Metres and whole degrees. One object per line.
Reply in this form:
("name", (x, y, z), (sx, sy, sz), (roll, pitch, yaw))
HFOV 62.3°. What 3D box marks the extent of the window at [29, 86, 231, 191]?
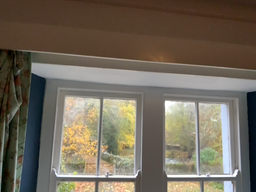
("window", (0.070, 0.630, 1.630), (1.490, 1.280, 0.210), (4, -9, -13))
